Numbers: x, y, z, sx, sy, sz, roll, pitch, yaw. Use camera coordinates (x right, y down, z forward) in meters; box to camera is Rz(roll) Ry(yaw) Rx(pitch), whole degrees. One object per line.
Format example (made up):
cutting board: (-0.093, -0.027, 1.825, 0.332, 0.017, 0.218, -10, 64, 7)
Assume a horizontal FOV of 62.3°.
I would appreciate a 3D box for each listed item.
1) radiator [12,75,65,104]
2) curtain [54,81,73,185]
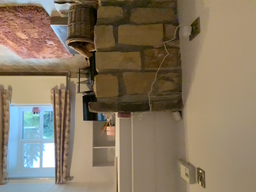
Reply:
radiator: (-1.850, -0.130, 4.410, 1.030, 0.590, 0.060, 0, 175, -7)
curtain: (-1.330, 0.730, 4.380, 0.320, 2.050, 0.240, 1, 175, -11)
